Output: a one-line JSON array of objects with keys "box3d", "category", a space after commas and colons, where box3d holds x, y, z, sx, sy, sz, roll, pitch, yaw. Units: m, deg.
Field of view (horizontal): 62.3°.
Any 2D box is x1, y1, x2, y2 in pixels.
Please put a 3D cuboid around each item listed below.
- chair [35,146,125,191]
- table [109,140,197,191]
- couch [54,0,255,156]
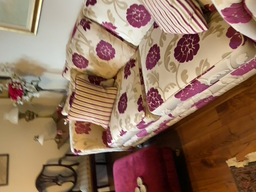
[{"box3d": [-0.640, 1.020, 2.750, 0.540, 0.980, 0.550, -41, 52, 51], "category": "chair"}, {"box3d": [0.190, 0.790, 1.910, 0.710, 0.400, 0.580, -42, 52, 51], "category": "table"}, {"box3d": [0.080, -0.320, 1.720, 2.020, 0.900, 1.060, -45, 49, 50], "category": "couch"}]
